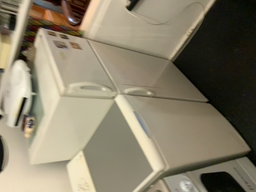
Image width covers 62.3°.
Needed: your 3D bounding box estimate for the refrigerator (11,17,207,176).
[{"bbox_3d":[-0.120,0.040,1.490,0.660,1.080,0.550,-56,48,29],"label":"refrigerator"}]
